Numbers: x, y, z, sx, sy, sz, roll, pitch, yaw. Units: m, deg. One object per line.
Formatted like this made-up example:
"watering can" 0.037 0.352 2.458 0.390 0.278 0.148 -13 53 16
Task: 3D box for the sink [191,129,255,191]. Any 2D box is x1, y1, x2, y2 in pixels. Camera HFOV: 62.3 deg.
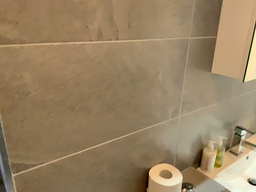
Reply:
"sink" 0.680 0.390 1.100 0.640 0.130 0.350 -13 25 -34

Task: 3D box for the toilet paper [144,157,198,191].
"toilet paper" 0.160 0.340 0.800 0.180 0.120 0.100 -14 25 -37
